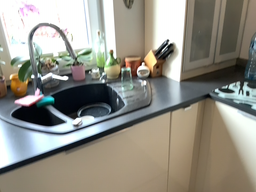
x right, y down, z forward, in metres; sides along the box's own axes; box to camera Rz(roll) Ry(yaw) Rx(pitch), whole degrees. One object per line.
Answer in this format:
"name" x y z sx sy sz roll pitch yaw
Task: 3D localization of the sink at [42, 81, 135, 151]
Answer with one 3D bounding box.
"sink" -0.250 0.080 1.270 0.390 0.140 0.460 -16 27 -28
